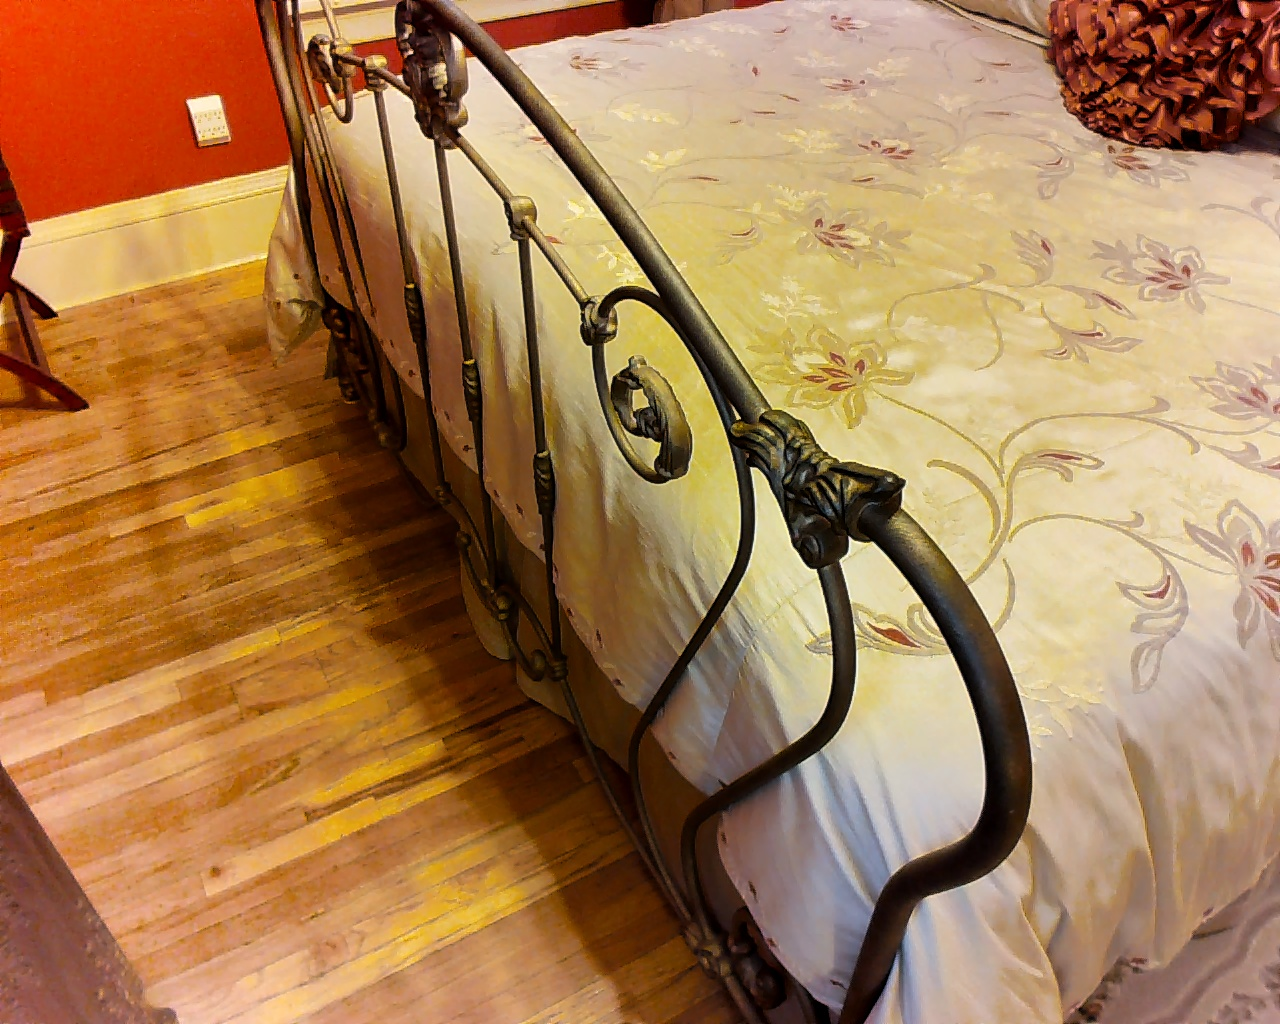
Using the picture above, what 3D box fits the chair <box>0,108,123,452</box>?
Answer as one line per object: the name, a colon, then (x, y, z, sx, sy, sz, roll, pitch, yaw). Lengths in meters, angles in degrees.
chair: (-1.610, -0.520, 2.510, 0.500, 0.530, 0.610, -22, 47, -21)
